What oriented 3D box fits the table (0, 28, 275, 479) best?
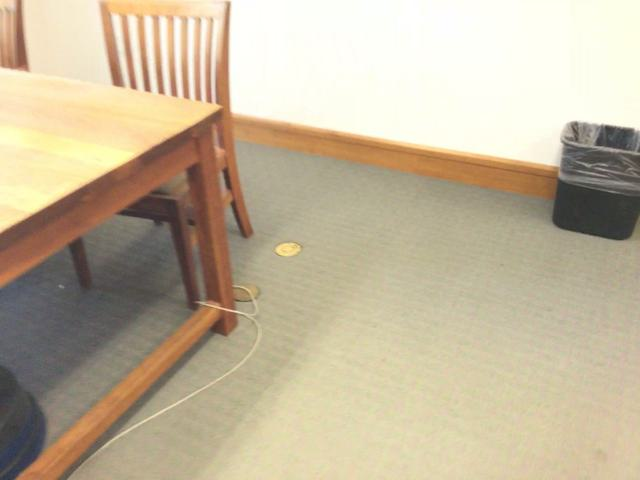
[{"bbox_3d":[-1.290,0.060,1.550,1.750,0.950,1.400,11,33,28],"label":"table"}]
